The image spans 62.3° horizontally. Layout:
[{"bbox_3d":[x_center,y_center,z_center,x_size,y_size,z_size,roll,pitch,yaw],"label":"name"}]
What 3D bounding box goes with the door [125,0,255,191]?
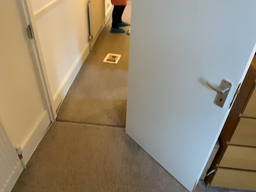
[{"bbox_3d":[0.280,-0.260,1.200,0.070,1.980,0.740,-26,46,-32],"label":"door"}]
